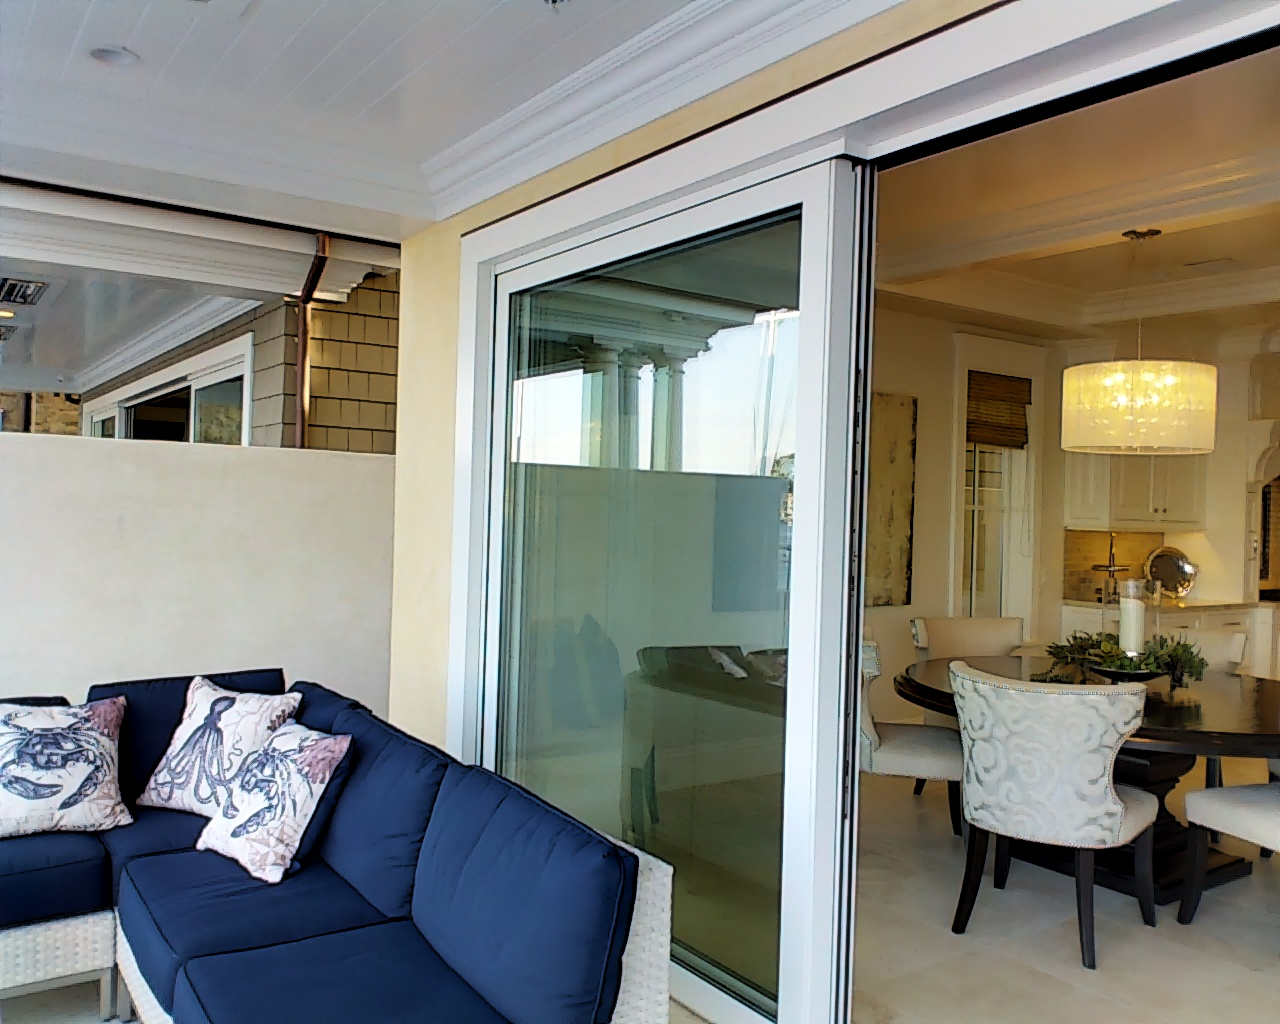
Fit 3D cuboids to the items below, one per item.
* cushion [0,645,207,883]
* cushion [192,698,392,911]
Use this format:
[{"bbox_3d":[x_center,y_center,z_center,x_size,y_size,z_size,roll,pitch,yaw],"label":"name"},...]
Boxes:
[{"bbox_3d":[-1.729,0.770,3.320,0.530,0.470,0.140,-41,22,-26],"label":"cushion"},{"bbox_3d":[-1.000,0.820,3.060,0.180,0.500,0.470,-39,22,-27],"label":"cushion"}]
